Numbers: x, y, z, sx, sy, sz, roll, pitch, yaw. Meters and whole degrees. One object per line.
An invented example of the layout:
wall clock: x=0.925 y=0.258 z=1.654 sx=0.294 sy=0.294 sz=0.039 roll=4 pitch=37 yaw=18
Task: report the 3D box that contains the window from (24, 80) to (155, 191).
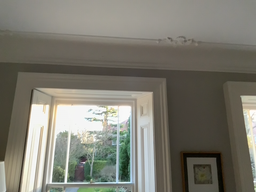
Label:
window: x=-0.410 y=0.980 z=2.470 sx=1.370 sy=2.280 sz=0.410 roll=1 pitch=-16 yaw=-4
